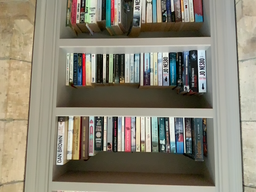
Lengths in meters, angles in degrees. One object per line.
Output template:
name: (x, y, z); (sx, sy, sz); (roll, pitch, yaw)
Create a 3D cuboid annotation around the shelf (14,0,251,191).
shelf: (0.020, 0.330, 1.170); (1.050, 2.160, 0.440); (1, 174, 2)
